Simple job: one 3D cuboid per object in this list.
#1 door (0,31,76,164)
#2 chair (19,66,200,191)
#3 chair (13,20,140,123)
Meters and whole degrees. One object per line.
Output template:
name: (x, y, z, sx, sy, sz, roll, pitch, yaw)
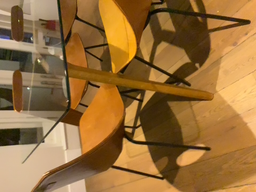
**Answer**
door: (-1.730, -0.080, 2.170, 0.100, 2.200, 1.630, -43, 55, 46)
chair: (-0.120, 0.200, 1.150, 0.460, 0.770, 0.460, -49, 50, 43)
chair: (-0.400, -0.140, 1.590, 0.430, 0.760, 0.510, -46, 53, 45)
